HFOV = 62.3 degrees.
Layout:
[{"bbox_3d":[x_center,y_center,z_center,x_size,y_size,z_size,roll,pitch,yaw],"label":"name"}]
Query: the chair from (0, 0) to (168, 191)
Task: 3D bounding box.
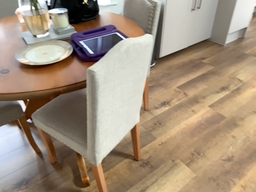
[{"bbox_3d":[-0.210,0.060,1.170,0.600,0.950,0.440,30,47,32],"label":"chair"}]
